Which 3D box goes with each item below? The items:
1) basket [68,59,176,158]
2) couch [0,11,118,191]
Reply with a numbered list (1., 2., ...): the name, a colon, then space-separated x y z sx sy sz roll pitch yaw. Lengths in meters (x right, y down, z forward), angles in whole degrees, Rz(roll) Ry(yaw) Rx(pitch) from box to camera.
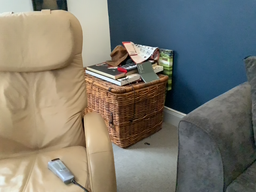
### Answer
1. basket: -0.080 0.040 2.120 0.620 0.590 0.860 -19 28 -36
2. couch: -0.520 0.180 1.090 0.710 1.120 1.100 -8 23 -14
